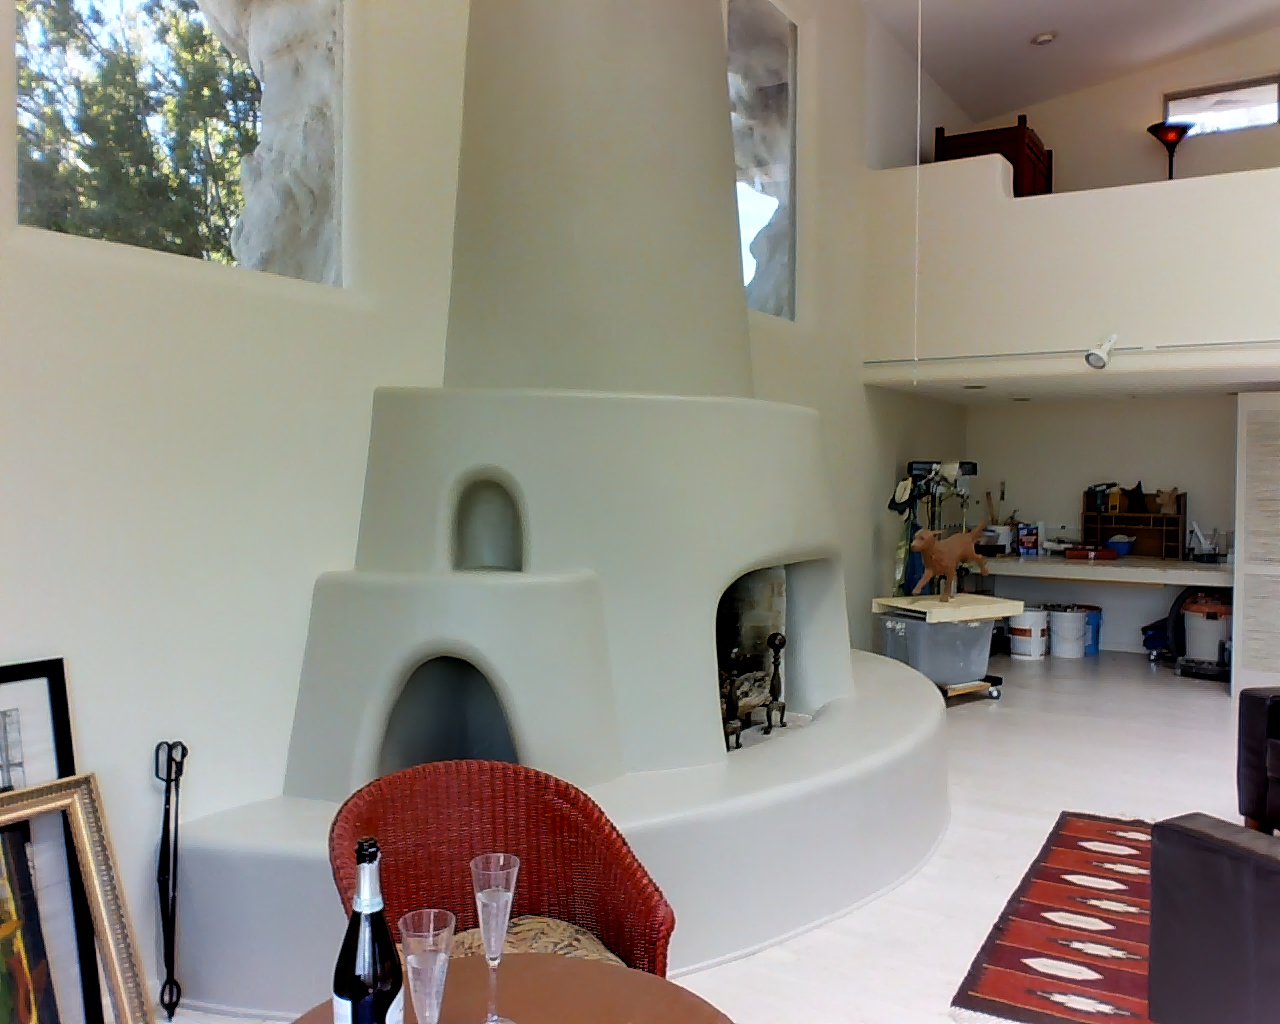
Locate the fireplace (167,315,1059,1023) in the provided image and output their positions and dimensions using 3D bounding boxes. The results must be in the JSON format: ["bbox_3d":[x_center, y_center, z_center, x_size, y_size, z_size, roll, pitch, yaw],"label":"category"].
[{"bbox_3d":[0.480,0.430,4.380,1.470,1.761,4.330,2,2,32],"label":"fireplace"}]

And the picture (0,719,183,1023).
[{"bbox_3d":[-1.549,1.020,2.280,0.280,0.780,0.910,2,19,32],"label":"picture"}]
